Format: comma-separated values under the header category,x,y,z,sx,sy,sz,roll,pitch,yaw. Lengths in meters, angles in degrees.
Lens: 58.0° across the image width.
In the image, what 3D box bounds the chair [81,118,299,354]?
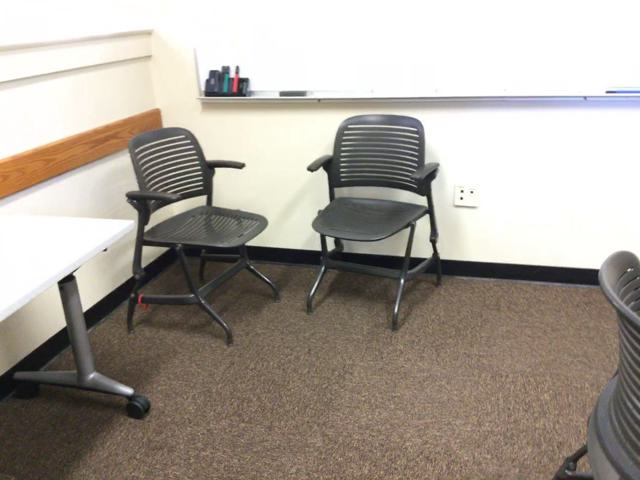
category,x,y,z,sx,sy,sz,roll,pitch,yaw
chair,-0.540,-0.060,2.640,0.600,0.870,0.610,5,23,24

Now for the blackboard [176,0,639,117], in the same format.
category,x,y,z,sx,sy,sz,roll,pitch,yaw
blackboard,0.470,-0.810,2.580,2.320,0.390,0.170,1,21,15

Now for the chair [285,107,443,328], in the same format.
category,x,y,z,sx,sy,sz,roll,pitch,yaw
chair,0.250,-0.130,2.650,0.570,0.820,0.630,1,21,15
